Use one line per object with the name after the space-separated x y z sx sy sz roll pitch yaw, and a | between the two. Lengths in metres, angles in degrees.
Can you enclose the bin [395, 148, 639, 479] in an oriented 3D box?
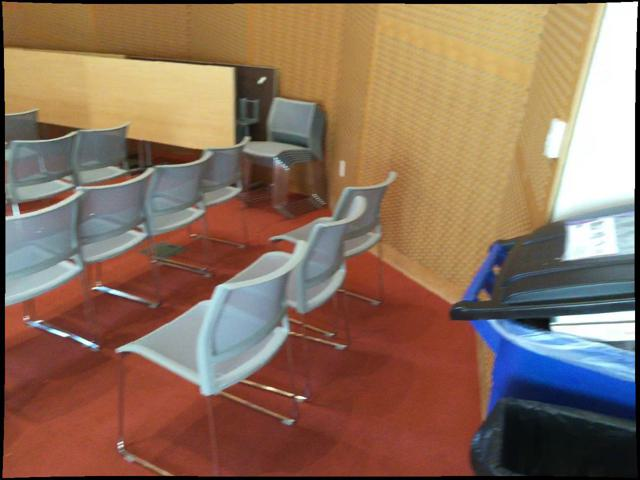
0.699 0.350 1.640 0.709 0.981 0.640 15 26 21 | bin
